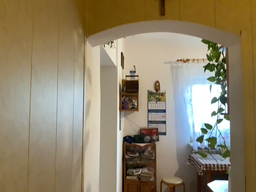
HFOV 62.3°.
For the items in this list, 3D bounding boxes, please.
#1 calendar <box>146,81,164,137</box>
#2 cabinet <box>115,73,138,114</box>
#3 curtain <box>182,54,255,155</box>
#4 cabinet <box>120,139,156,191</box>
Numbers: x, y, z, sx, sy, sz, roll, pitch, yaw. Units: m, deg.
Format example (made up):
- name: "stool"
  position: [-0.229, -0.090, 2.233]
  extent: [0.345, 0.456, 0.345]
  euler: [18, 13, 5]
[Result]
- name: "calendar"
  position: [0.460, 0.220, 3.630]
  extent: [0.290, 0.940, 0.080]
  euler: [0, -3, 3]
- name: "cabinet"
  position: [0.000, -0.010, 3.200]
  extent: [0.290, 0.530, 0.890]
  euler: [0, -3, 3]
- name: "curtain"
  position: [1.470, 0.130, 3.440]
  extent: [1.130, 1.560, 0.250]
  euler: [0, -3, 5]
- name: "cabinet"
  position: [0.160, 1.200, 3.400]
  extent: [0.540, 0.940, 0.340]
  euler: [0, -3, 3]
